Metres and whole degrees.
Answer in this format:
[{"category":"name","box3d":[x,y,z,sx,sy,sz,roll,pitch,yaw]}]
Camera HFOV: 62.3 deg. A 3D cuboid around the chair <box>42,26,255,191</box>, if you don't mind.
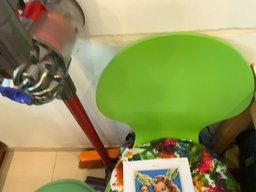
[{"category":"chair","box3d":[0.130,0.290,0.720,0.440,0.880,0.500,0,59,5]}]
